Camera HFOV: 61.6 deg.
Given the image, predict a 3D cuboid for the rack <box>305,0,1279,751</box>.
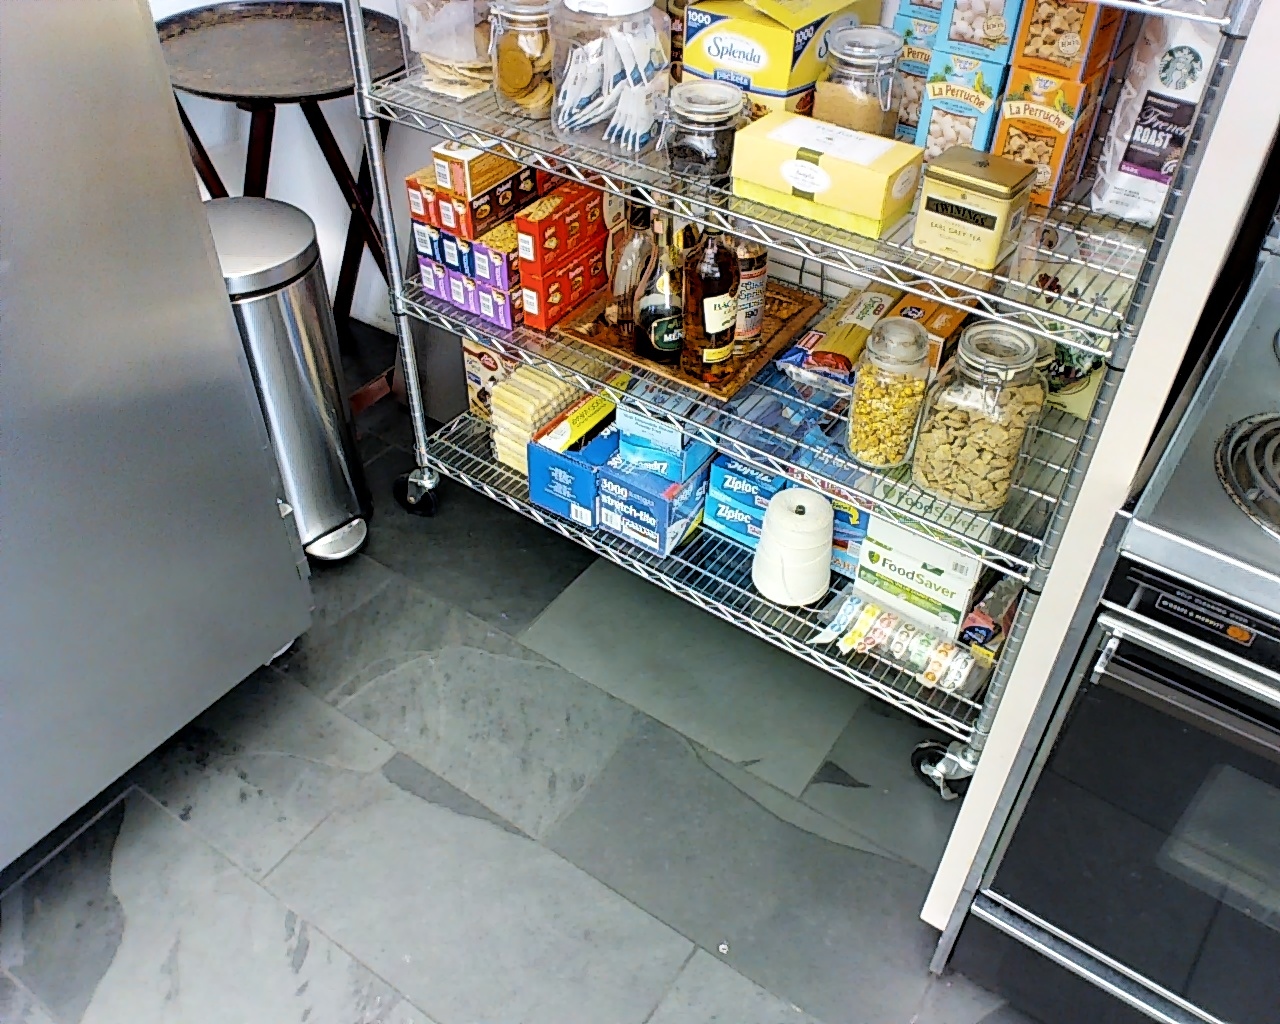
[{"bbox_3d":[0.160,-0.680,1.460,1.220,1.820,0.520,25,48,25],"label":"rack"}]
